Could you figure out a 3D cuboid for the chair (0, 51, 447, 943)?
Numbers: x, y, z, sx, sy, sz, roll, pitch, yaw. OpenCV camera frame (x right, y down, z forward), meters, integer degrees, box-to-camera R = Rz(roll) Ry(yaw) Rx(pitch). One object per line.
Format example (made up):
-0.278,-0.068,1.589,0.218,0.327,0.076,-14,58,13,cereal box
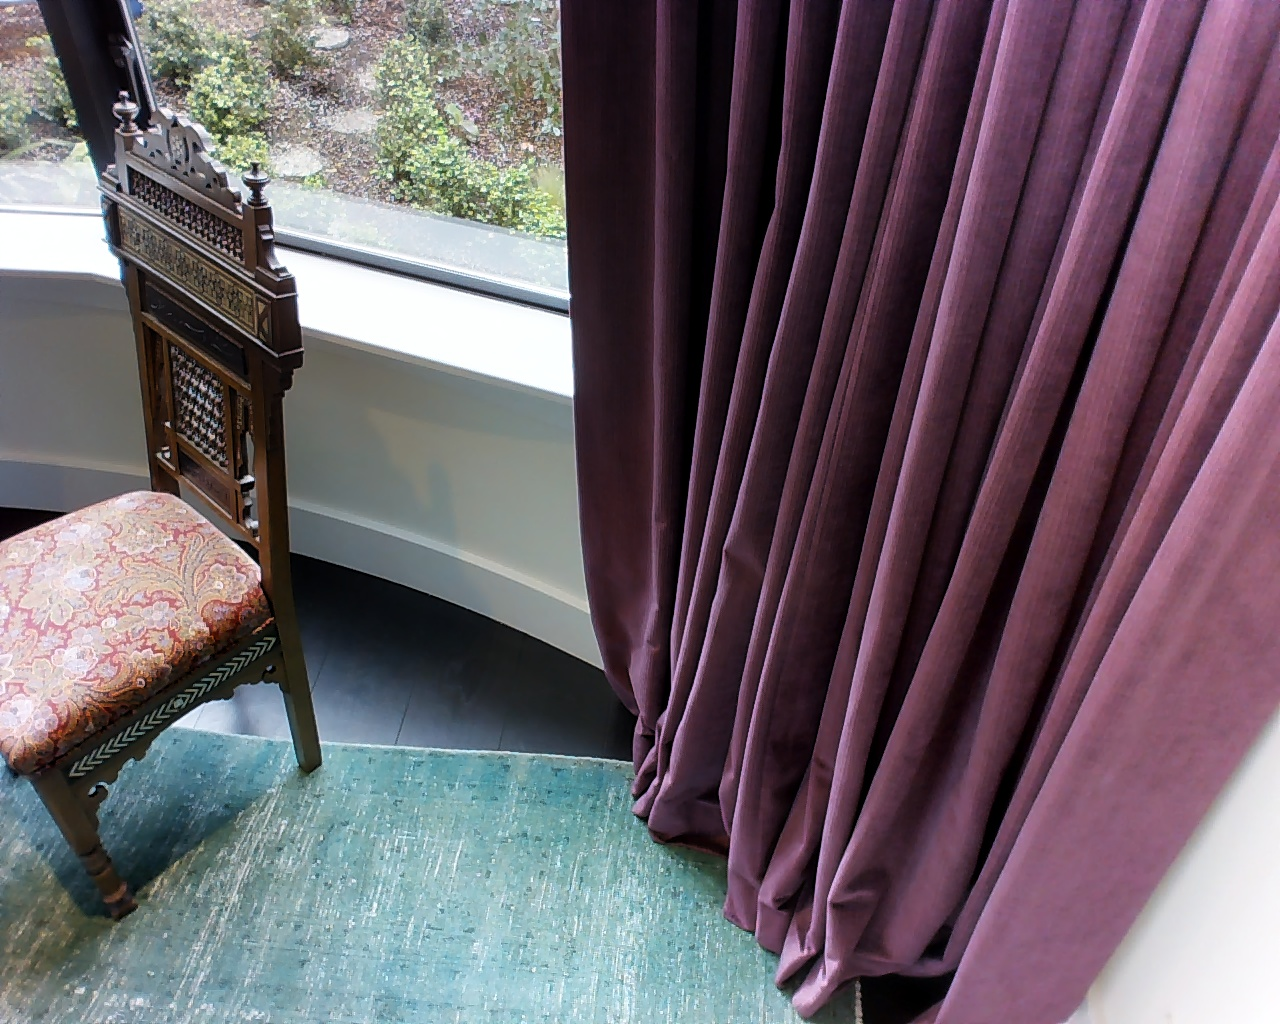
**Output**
-0.730,0.000,1.540,0.610,1.020,0.490,-31,51,-30,chair
